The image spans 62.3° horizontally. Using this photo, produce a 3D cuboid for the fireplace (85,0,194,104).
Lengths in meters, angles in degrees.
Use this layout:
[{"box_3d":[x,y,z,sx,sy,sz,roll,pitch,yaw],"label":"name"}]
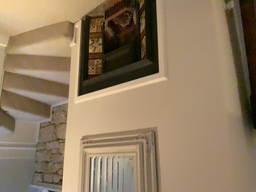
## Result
[{"box_3d":[0.020,-0.480,1.950,1.070,0.930,0.190,-14,161,41],"label":"fireplace"}]
